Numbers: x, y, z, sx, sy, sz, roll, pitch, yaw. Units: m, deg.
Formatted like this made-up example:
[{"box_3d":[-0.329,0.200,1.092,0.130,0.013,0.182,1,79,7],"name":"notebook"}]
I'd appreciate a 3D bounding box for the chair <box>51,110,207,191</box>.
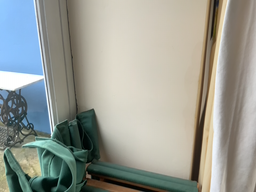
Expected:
[{"box_3d":[-0.020,0.530,0.940,0.570,0.850,0.150,10,22,22],"name":"chair"}]
